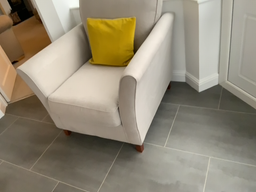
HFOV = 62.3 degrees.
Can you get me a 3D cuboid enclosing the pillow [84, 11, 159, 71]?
[{"bbox_3d":[-0.050,-0.430,1.700,0.460,0.340,0.260,-4,22,33],"label":"pillow"}]
